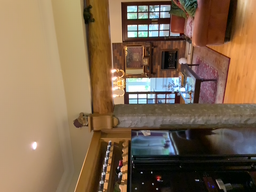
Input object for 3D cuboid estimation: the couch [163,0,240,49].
[{"bbox_3d":[1.320,-1.610,4.250,1.720,0.950,0.980,-86,-5,-67],"label":"couch"}]
